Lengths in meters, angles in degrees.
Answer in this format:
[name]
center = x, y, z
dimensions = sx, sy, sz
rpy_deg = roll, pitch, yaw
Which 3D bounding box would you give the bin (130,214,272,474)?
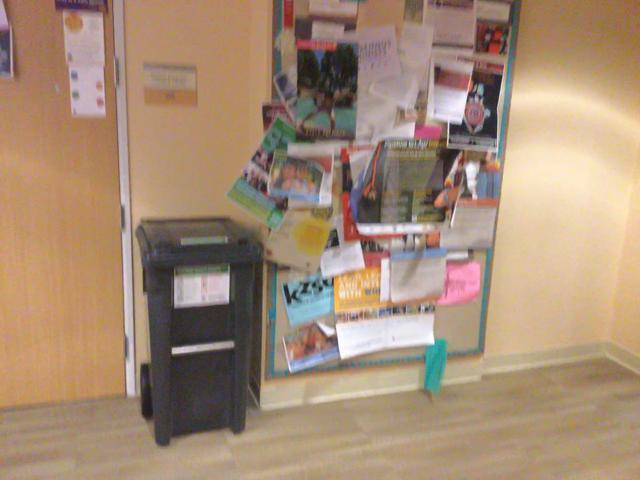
[bin]
center = -0.530, 0.370, 2.460
dimensions = 0.490, 0.920, 0.620
rpy_deg = -1, 7, -21
